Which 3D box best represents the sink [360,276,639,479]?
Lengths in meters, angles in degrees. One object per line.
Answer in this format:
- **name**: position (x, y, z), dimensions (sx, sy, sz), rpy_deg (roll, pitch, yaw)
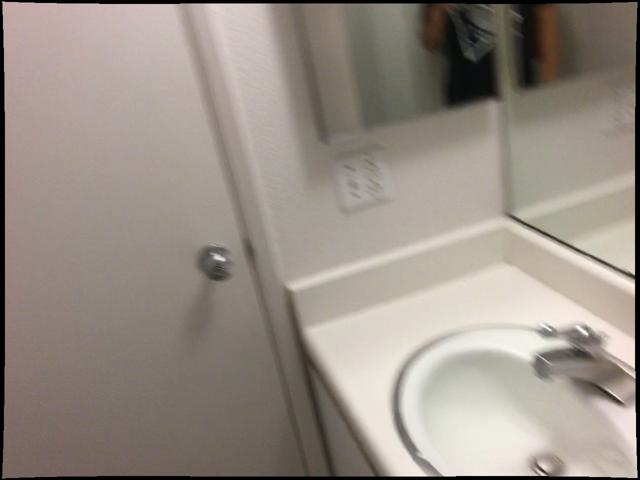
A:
- **sink**: position (0.329, 0.321, 0.990), dimensions (0.319, 0.261, 0.510), rpy_deg (-18, 23, -11)
